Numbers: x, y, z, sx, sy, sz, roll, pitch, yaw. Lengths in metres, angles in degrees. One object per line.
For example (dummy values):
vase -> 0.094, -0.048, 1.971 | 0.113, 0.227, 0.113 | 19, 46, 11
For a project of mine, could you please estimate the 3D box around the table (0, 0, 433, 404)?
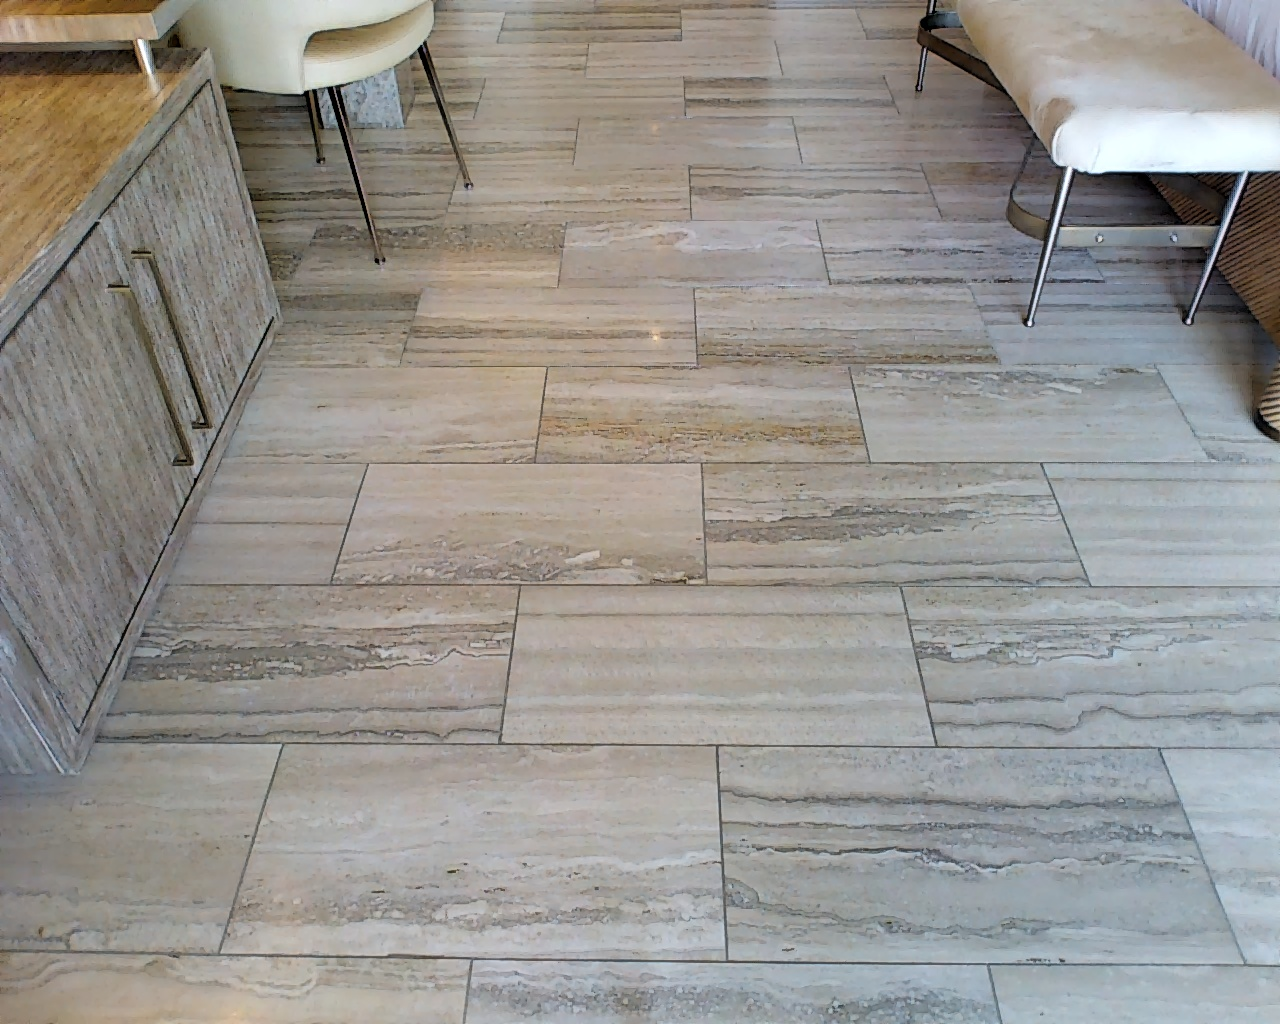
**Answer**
table -> -1.020, -1.070, 2.490 | 0.700, 0.730, 1.760 | 0, 42, 1
